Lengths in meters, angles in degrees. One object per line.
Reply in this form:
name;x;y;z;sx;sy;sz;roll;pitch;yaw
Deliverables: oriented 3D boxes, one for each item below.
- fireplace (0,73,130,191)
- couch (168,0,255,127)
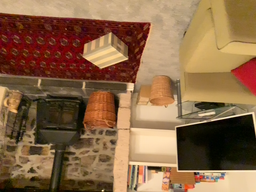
fireplace;-1.030;0.680;2.740;2.020;1.700;0.790;3;159;-3
couch;0.860;-0.270;1.420;0.990;0.780;0.800;2;159;-1
